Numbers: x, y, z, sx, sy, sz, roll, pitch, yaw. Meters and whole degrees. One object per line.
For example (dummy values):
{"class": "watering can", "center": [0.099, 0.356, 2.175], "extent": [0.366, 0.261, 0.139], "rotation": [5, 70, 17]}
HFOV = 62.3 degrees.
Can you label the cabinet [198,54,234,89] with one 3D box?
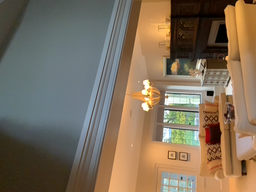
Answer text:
{"class": "cabinet", "center": [2.750, -0.760, 6.740], "extent": [1.110, 0.840, 0.550], "rotation": [71, -155, -62]}
